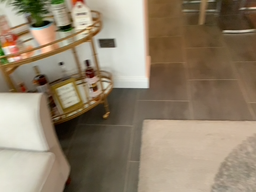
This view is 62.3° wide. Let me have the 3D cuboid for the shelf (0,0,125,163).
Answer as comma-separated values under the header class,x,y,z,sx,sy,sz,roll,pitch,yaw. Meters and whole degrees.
class,x,y,z,sx,sy,sz,roll,pitch,yaw
shelf,-0.620,-0.230,1.500,1.000,0.950,0.500,-27,45,-22
